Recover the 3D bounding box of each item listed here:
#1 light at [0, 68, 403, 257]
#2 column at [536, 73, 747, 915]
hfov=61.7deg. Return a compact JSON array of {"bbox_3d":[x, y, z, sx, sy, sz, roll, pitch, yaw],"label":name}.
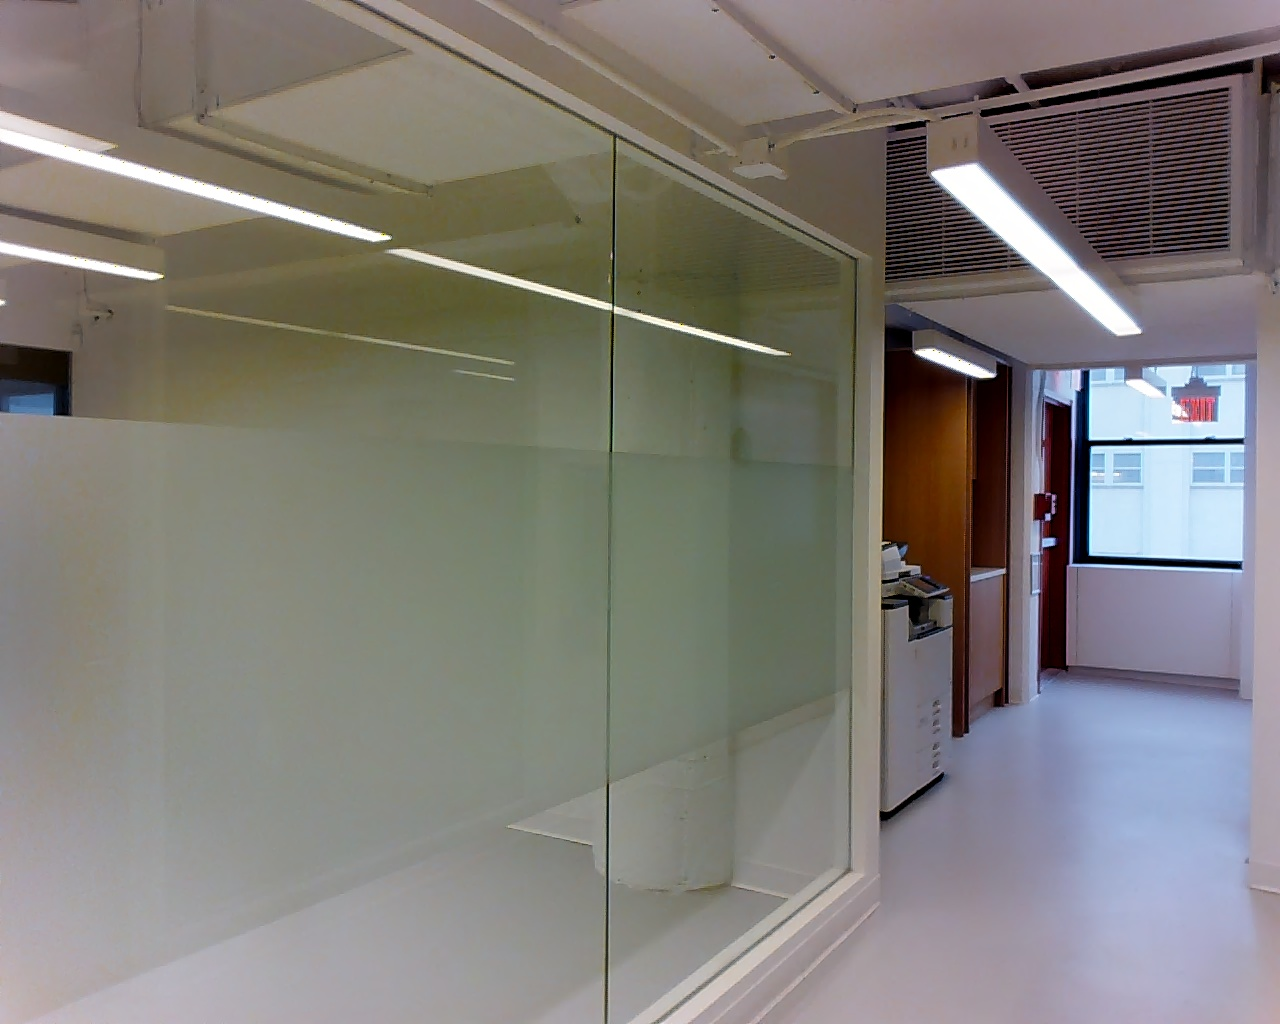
[{"bbox_3d":[-1.520,-0.930,2.510,0.190,0.160,2.520,1,1,31],"label":"light"},{"bbox_3d":[0.000,-0.060,4.000,0.710,2.891,0.320,1,1,31],"label":"column"}]
